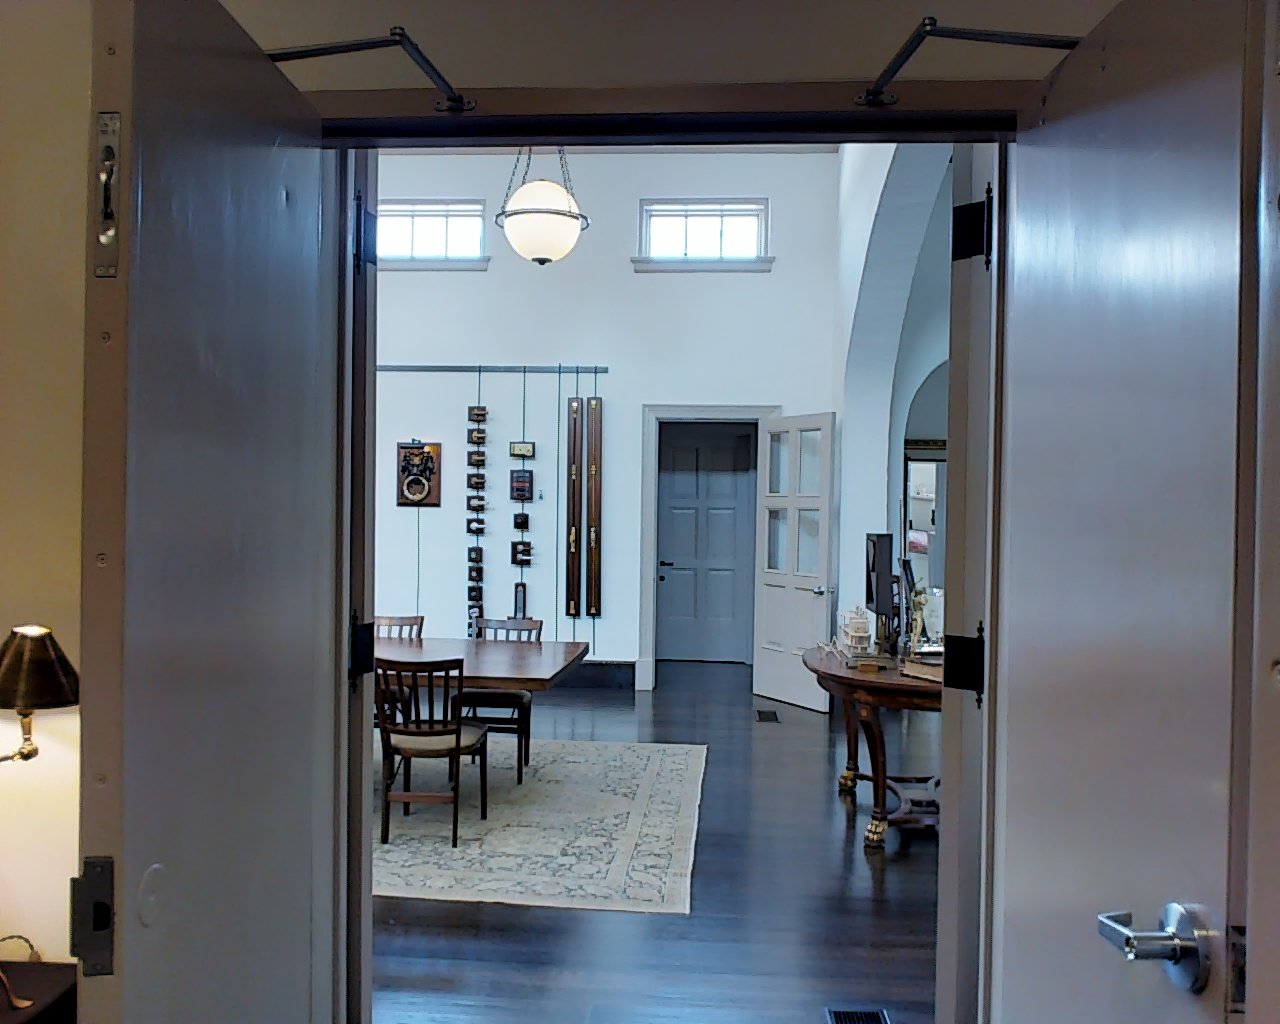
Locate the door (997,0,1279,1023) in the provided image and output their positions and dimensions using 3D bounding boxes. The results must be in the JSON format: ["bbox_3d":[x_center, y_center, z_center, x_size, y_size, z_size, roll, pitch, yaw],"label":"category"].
[{"bbox_3d":[0.590,0.400,1.360,0.030,2.200,0.680,1,0,0],"label":"door"}]

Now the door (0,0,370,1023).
[{"bbox_3d":[-0.580,0.390,1.490,0.150,2.190,0.710,1,0,4],"label":"door"}]
